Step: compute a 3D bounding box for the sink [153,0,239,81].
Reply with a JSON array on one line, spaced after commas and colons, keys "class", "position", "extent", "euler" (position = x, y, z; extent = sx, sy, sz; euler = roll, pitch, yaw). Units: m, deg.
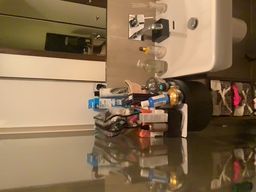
[{"class": "sink", "position": [0.320, -0.400, 1.120], "extent": [0.500, 0.130, 0.610], "euler": [180, 91, -67]}]
